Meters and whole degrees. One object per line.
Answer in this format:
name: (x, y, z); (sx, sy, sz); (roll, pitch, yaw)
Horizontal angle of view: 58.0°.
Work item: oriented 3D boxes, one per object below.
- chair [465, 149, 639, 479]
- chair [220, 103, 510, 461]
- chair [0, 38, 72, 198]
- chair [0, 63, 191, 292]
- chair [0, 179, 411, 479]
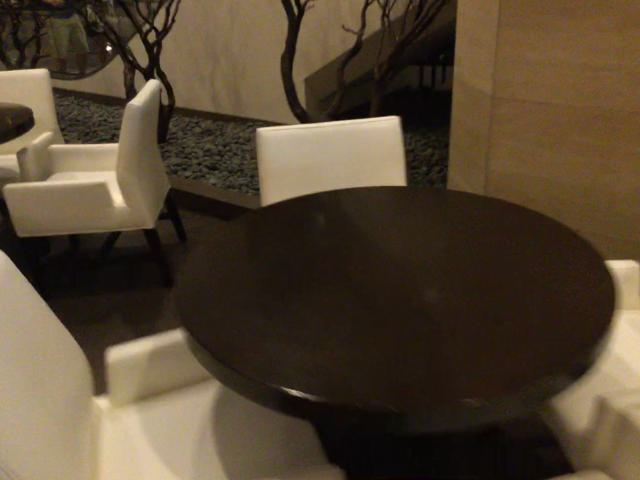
chair: (0.810, 0.250, 1.430); (0.670, 0.770, 0.610); (-8, 27, -6)
chair: (0.080, 0.070, 1.840); (0.680, 0.760, 0.780); (-8, 27, -6)
chair: (-1.760, -0.620, 2.950); (0.650, 0.640, 0.670); (-8, 27, -6)
chair: (-1.030, -0.310, 2.650); (0.700, 0.800, 0.610); (-8, 27, -6)
chair: (-0.280, 0.440, 1.250); (0.790, 0.880, 0.640); (-8, 27, -6)
